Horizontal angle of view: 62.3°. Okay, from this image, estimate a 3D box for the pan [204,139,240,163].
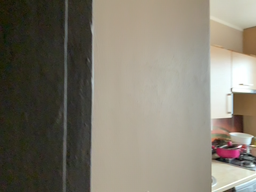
[{"bbox_3d":[1.110,0.640,2.510,0.280,0.180,0.300,1,-1,-36],"label":"pan"}]
